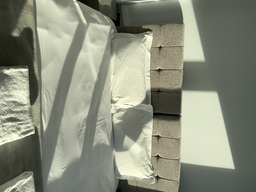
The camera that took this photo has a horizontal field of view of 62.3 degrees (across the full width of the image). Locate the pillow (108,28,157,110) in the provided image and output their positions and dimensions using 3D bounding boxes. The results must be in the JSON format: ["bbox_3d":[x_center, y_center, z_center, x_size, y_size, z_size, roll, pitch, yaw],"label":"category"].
[{"bbox_3d":[0.030,-0.270,2.190,0.180,0.430,0.780,-115,-151,-79],"label":"pillow"}]

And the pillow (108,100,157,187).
[{"bbox_3d":[0.040,0.510,2.270,0.130,0.450,0.900,-87,180,-81],"label":"pillow"}]

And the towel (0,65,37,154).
[{"bbox_3d":[-0.550,0.050,0.890,0.340,0.090,0.360,-24,116,-70],"label":"towel"}]
